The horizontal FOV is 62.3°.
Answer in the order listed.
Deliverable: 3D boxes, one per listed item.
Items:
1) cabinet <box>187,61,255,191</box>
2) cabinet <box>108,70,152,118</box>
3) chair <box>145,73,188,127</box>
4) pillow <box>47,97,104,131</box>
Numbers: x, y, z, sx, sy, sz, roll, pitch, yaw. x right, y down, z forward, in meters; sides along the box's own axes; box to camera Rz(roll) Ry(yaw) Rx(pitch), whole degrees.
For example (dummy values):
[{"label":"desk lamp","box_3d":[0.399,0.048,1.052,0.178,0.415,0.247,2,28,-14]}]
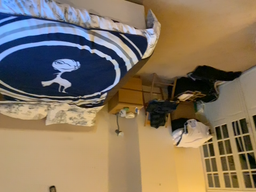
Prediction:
[{"label":"cabinet","box_3d":[1.950,0.780,3.370,0.630,2.230,1.920,7,158,-23]},{"label":"cabinet","box_3d":[0.010,0.000,3.440,0.490,0.550,0.610,7,158,-23]},{"label":"chair","box_3d":[0.600,0.080,3.470,0.420,0.720,0.510,7,158,-23]},{"label":"pillow","box_3d":[-0.770,0.280,3.110,0.730,0.140,0.460,7,125,-23]}]
